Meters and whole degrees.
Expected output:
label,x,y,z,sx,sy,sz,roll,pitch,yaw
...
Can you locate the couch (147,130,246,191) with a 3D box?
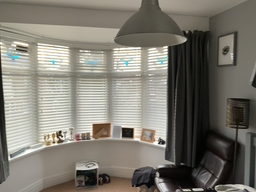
label,x,y,z,sx,sy,sz,roll,pitch,yaw
couch,0.770,0.990,2.600,0.860,0.940,0.750,0,5,-12
